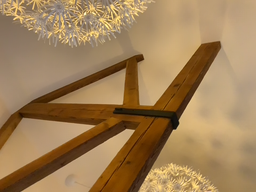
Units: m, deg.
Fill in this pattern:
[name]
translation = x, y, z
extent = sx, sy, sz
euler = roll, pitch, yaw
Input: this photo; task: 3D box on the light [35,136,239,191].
[light]
translation = 0.050, 1.110, 2.230
extent = 0.940, 1.870, 0.900
euler = -20, -75, -51
